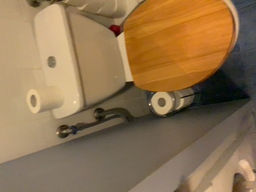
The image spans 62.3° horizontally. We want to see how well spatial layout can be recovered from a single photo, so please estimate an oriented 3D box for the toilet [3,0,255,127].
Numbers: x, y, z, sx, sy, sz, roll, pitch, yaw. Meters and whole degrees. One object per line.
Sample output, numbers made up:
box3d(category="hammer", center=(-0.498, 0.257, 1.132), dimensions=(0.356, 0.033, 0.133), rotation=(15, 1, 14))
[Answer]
box3d(category="toilet", center=(0.080, -0.210, 0.890), dimensions=(0.680, 0.790, 0.450), rotation=(-12, 89, 38))
